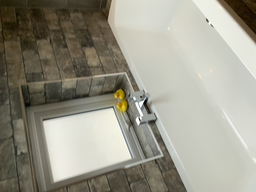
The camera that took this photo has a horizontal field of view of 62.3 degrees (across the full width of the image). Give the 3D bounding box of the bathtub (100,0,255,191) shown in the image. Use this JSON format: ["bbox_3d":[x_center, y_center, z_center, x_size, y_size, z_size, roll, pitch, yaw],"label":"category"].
[{"bbox_3d":[0.480,-0.150,1.190,0.790,0.550,2.200,115,139,-51],"label":"bathtub"}]
